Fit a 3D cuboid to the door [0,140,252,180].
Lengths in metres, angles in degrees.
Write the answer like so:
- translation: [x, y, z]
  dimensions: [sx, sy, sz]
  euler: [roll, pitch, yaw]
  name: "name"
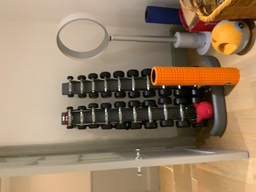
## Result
- translation: [-0.140, 0.500, 1.790]
  dimensions: [0.850, 1.980, 0.040]
  euler: [152, 116, -78]
  name: "door"
